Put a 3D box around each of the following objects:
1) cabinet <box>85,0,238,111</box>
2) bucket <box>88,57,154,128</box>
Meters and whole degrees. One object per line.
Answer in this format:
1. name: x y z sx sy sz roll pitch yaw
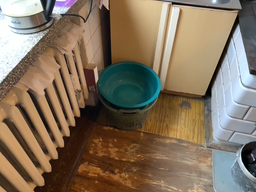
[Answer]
1. cabinet: 0.240 -0.430 1.750 0.920 0.760 0.600 10 48 8
2. bucket: -0.040 -0.030 1.680 0.400 0.360 0.330 13 49 10
